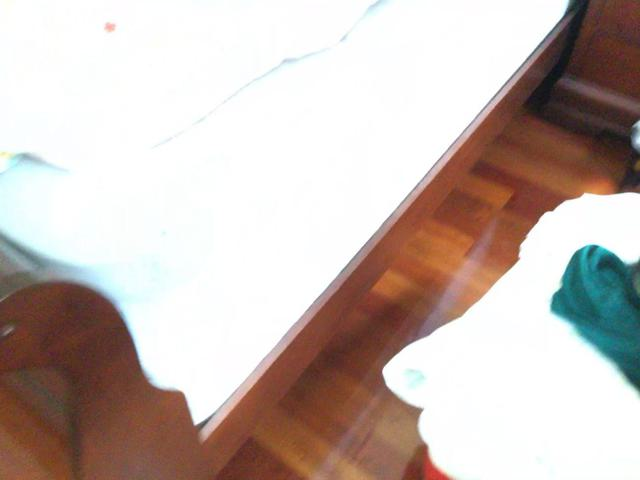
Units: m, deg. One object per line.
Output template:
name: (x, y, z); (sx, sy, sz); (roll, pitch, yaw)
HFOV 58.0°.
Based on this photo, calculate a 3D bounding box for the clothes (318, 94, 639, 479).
clothes: (0.400, 0.130, 1.040); (0.470, 0.330, 0.710); (29, 56, 23)

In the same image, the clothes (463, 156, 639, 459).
clothes: (0.490, 0.100, 0.970); (0.330, 0.210, 0.360); (29, 56, 23)
